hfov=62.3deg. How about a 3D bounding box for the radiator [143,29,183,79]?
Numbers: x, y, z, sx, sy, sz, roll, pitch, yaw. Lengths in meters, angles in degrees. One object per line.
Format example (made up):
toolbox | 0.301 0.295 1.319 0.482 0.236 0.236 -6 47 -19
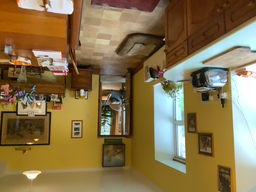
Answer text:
radiator | 0.580 -0.690 3.930 0.130 0.480 1.480 2 173 -15

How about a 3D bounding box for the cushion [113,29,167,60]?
cushion | 0.180 -0.960 4.150 0.670 0.120 1.200 2 173 -18
